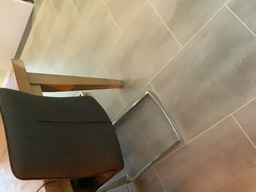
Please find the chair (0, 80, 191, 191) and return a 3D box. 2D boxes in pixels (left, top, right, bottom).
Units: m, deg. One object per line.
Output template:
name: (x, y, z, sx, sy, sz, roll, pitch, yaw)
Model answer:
chair: (-0.200, 0.270, 1.140, 0.540, 0.900, 0.430, -45, 61, 35)
